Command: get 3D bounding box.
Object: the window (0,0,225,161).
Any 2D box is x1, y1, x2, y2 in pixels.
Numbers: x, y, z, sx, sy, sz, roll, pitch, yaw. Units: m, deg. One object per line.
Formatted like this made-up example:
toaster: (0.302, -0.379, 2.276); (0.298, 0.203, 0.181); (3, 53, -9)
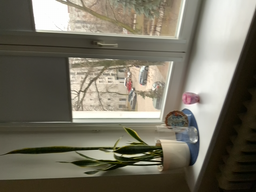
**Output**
window: (-0.400, -0.260, 1.280); (0.160, 1.830, 1.530); (-106, 19, -63)
